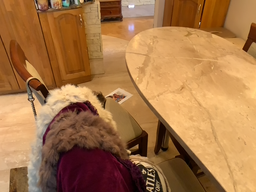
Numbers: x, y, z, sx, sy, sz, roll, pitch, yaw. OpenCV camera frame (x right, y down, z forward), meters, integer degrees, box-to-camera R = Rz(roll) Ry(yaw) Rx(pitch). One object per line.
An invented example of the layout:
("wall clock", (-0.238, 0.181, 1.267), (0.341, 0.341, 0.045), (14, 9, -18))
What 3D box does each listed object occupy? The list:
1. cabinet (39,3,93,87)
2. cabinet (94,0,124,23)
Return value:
("cabinet", (-0.610, -0.510, 2.220), (0.390, 0.810, 0.220), (-7, 38, -9))
("cabinet", (-0.380, -1.730, 4.150), (0.510, 0.440, 0.360), (-9, 39, -11))
